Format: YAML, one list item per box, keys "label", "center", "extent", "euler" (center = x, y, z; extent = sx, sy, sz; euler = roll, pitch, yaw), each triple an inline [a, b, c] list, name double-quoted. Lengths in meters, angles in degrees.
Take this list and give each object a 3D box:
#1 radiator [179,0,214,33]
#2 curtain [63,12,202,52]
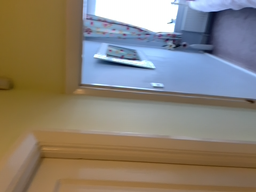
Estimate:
- label: "radiator"
  center: [1.210, -1.490, 3.710]
  extent: [0.090, 0.470, 0.690]
  euler: [-98, 14, -66]
- label: "curtain"
  center: [0.080, -1.090, 3.620]
  extent: [0.290, 2.260, 0.390]
  euler: [-98, 14, -66]
